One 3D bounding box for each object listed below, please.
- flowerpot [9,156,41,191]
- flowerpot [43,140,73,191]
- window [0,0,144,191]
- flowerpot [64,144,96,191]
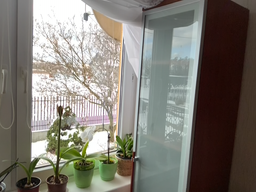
[{"bbox_3d":[-0.570,0.480,1.170,0.140,0.220,0.170,-1,8,-33],"label":"flowerpot"},{"bbox_3d":[-0.420,0.430,1.260,0.130,0.280,0.160,-1,8,-33],"label":"flowerpot"},{"bbox_3d":[-0.770,-0.160,1.350,1.820,1.510,0.480,-2,9,-39],"label":"window"},{"bbox_3d":[-0.320,0.480,1.400,0.140,0.250,0.190,-1,8,-34],"label":"flowerpot"}]
